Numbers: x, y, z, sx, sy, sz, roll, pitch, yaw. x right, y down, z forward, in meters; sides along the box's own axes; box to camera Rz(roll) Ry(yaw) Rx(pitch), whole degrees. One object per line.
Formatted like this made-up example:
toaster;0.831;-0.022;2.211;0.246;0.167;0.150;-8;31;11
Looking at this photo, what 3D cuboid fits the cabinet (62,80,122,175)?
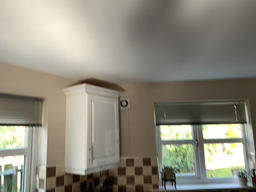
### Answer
cabinet;-0.370;0.330;2.310;0.270;0.880;0.620;-9;-12;35
